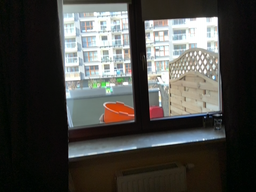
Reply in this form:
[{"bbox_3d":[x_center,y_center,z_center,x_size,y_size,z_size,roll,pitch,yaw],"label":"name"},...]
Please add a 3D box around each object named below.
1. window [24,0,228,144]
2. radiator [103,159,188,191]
[{"bbox_3d":[0.070,-0.380,1.800,1.670,1.400,0.090,-5,8,-10],"label":"window"},{"bbox_3d":[0.150,0.890,1.630,0.620,0.710,0.120,-5,8,-12],"label":"radiator"}]
